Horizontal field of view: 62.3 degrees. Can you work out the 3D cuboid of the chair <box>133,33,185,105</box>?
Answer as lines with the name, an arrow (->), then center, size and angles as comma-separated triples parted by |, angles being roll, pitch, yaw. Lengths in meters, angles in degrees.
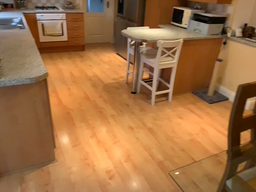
chair -> 0.410, -0.400, 3.040 | 0.440, 0.870, 0.470 | -10, 32, -24

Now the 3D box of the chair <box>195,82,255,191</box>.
chair -> 0.820, 0.510, 1.260 | 0.390, 1.030, 0.590 | -11, 31, -25
